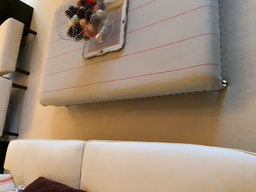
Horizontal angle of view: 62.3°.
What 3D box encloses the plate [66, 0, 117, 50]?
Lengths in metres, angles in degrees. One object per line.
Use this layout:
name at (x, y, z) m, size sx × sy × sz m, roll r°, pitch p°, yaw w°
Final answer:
plate at (-0.270, -0.580, 1.610) m, size 0.260 × 0.250 × 0.330 m, roll -8°, pitch 73°, yaw 36°
